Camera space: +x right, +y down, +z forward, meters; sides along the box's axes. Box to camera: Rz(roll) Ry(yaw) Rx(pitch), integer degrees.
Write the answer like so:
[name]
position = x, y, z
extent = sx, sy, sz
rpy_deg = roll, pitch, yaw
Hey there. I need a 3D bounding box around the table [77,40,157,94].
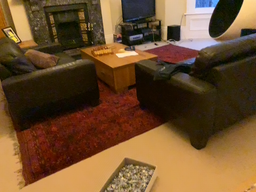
[table]
position = -0.230, -0.540, 3.370
extent = 0.700, 0.380, 1.350
rpy_deg = -18, 30, -25
